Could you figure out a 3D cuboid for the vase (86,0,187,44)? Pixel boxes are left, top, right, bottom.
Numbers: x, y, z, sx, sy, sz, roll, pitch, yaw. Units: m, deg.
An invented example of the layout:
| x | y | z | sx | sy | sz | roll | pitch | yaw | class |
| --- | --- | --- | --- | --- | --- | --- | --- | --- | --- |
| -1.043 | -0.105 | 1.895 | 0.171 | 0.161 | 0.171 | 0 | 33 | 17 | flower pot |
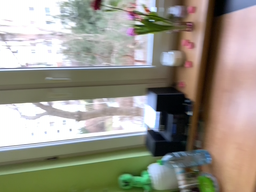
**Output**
| x | y | z | sx | sy | sz | roll | pitch | yaw | class |
| --- | --- | --- | --- | --- | --- | --- | --- | --- | --- |
| 0.040 | -0.460 | 1.280 | 0.230 | 0.550 | 0.260 | -135 | 44 | -66 | vase |
